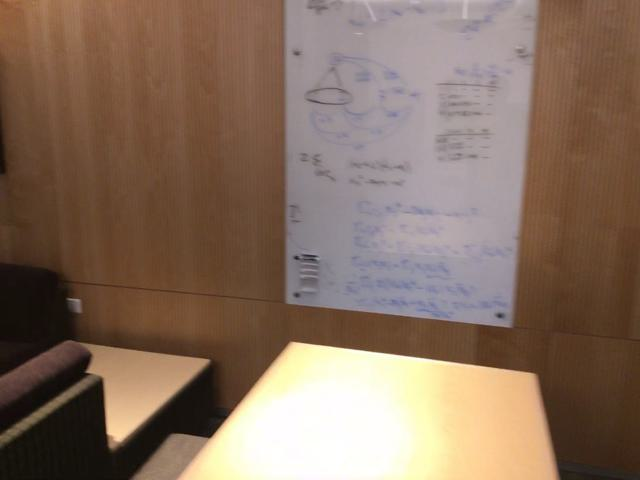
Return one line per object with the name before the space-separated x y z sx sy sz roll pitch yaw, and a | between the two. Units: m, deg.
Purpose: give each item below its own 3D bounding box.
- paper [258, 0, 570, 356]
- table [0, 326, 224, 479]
paper | 0.320 -0.280 2.320 0.990 1.290 0.080 13 10 14
table | -0.930 0.700 2.370 0.820 0.320 0.850 7 11 7
